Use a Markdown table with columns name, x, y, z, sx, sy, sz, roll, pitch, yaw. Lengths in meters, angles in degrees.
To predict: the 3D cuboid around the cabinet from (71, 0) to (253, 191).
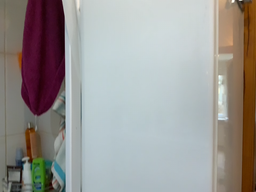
| name | x | y | z | sx | sy | sz | roll | pitch | yaw |
| --- | --- | --- | --- | --- | --- | --- | --- | --- | --- |
| cabinet | 0.090 | 0.490 | 0.540 | 0.330 | 2.220 | 0.310 | 2 | 3 | 35 |

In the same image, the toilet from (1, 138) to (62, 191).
| name | x | y | z | sx | sy | sz | roll | pitch | yaw |
| --- | --- | --- | --- | --- | --- | --- | --- | --- | --- |
| toilet | -0.470 | 0.470 | 1.070 | 0.230 | 0.470 | 0.190 | 0 | 2 | -7 |
